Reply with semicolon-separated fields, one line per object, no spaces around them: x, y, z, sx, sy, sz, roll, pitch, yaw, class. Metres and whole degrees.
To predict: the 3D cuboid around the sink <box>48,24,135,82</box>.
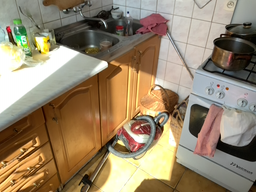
-0.260;-0.340;1.560;0.490;0.200;0.360;23;40;26;sink
